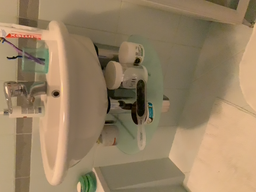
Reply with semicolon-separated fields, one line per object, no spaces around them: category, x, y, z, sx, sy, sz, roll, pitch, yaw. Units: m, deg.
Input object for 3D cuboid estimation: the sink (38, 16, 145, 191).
sink;-0.190;0.030;0.760;0.460;0.180;0.540;41;124;55
